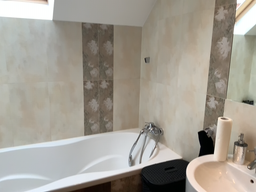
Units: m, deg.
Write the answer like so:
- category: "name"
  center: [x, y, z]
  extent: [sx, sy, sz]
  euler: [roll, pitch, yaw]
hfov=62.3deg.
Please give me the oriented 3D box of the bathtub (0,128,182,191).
- category: "bathtub"
  center: [-0.550, 0.800, 1.830]
  extent: [1.870, 0.580, 0.780]
  euler: [-4, 13, -26]

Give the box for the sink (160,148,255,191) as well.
- category: "sink"
  center: [0.540, 0.500, 1.100]
  extent: [0.480, 0.150, 0.590]
  euler: [-4, 13, -25]
